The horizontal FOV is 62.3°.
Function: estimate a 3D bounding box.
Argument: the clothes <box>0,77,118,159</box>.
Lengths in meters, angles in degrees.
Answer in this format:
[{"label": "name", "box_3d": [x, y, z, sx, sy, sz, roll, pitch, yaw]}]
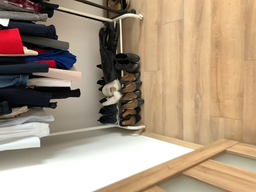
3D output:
[{"label": "clothes", "box_3d": [-0.750, 0.090, 1.500, 0.660, 1.200, 0.430, 5, 98, 50]}]

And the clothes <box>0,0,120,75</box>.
[{"label": "clothes", "box_3d": [-0.740, -0.400, 1.480, 0.610, 1.250, 0.490, 5, 98, 50]}]

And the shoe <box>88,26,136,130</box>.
[{"label": "shoe", "box_3d": [-0.170, -0.170, 2.070, 0.530, 0.180, 0.890, 7, 99, 49]}]
